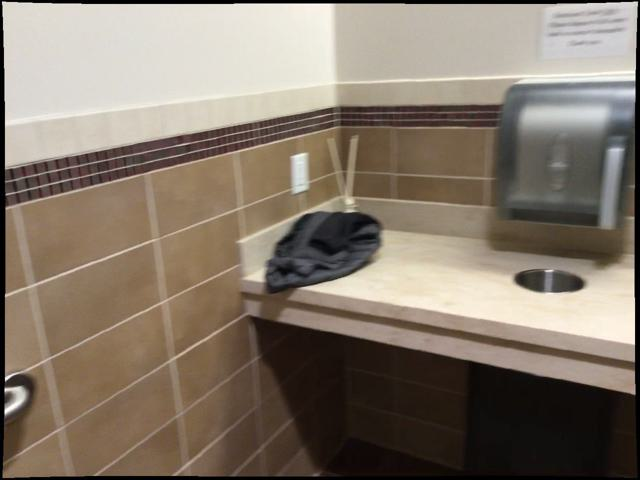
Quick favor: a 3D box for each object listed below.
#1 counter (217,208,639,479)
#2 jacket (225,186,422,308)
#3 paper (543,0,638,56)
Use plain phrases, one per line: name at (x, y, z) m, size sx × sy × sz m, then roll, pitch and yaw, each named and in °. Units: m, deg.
counter at (0.739, 0.350, 1.390) m, size 1.939 × 0.540 × 0.640 m, roll 8°, pitch 22°, yaw 30°
jacket at (0.040, -0.010, 1.660) m, size 0.310 × 0.140 × 0.580 m, roll 8°, pitch 22°, yaw 30°
paper at (0.689, -0.561, 1.480) m, size 0.210 × 0.160 × 0.030 m, roll 8°, pitch 22°, yaw 30°
